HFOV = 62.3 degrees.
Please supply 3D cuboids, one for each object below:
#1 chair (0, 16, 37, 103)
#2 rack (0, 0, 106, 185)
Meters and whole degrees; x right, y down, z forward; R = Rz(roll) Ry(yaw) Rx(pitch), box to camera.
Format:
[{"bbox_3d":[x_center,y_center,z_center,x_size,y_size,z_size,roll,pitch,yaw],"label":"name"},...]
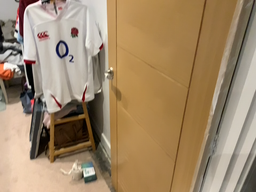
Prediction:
[{"bbox_3d":[-1.610,-0.490,2.790,0.490,0.940,0.580,-17,35,-29],"label":"chair"},{"bbox_3d":[-0.710,-0.130,1.950,0.710,1.540,0.790,-14,34,-24],"label":"rack"}]
